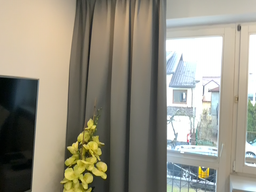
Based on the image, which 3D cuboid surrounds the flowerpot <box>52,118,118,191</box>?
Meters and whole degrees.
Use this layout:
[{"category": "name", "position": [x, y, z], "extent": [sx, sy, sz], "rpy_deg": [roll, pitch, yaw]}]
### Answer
[{"category": "flowerpot", "position": [-0.380, 0.920, 1.910], "extent": [0.400, 1.370, 0.450], "rpy_deg": [2, 1, 15]}]

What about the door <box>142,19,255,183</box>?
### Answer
[{"category": "door", "position": [1.570, 0.060, 1.750], "extent": [2.930, 1.430, 0.140], "rpy_deg": [2, 1, 21]}]
